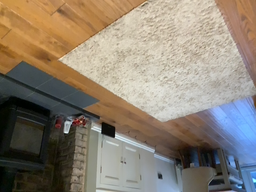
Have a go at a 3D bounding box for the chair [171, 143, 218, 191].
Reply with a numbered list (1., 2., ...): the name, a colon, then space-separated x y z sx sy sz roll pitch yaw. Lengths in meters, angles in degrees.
1. chair: 1.260 1.480 4.020 0.540 0.950 0.640 -22 145 30

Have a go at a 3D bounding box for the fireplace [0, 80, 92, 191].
1. fireplace: -1.140 0.740 2.020 0.440 1.570 1.650 -22 145 31
